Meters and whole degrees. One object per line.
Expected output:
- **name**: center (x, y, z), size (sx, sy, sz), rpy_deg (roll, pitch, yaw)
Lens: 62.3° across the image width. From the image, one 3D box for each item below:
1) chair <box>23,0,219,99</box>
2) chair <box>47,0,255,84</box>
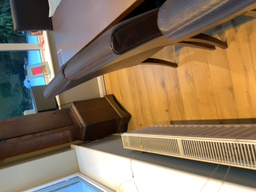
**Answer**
- **chair**: center (0.000, -0.330, 1.210), size (0.400, 0.970, 0.510), rpy_deg (-15, 86, 57)
- **chair**: center (0.230, -0.390, 0.850), size (0.440, 0.960, 0.510), rpy_deg (-15, 86, 57)
